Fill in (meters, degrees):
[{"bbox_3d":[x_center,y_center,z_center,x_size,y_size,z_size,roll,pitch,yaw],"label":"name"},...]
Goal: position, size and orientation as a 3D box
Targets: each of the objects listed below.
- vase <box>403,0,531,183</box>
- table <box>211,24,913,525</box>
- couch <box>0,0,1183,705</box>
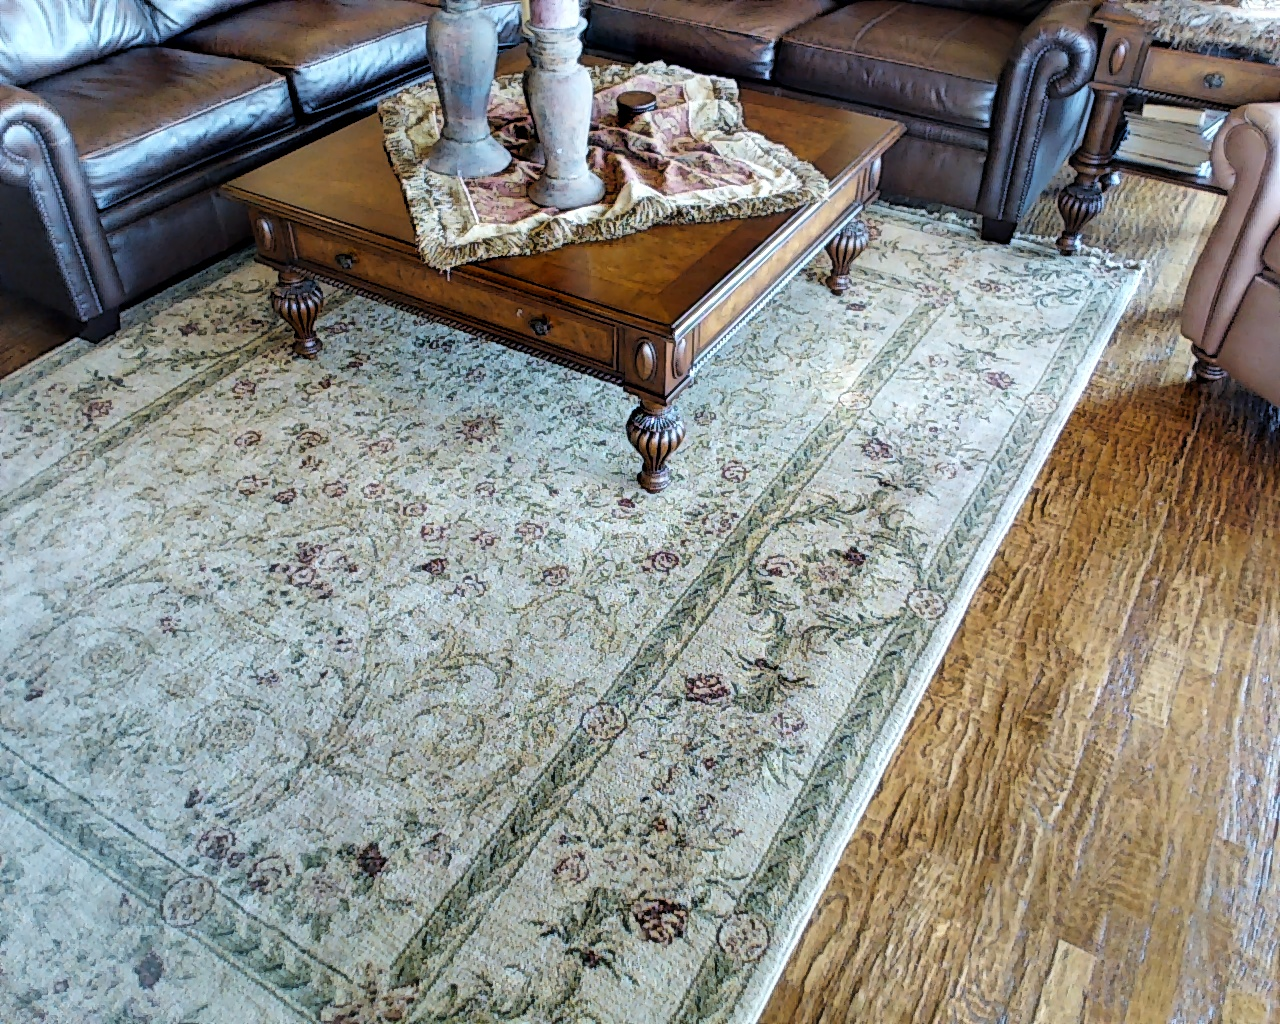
[{"bbox_3d":[-0.390,-1.060,2.410,0.200,0.560,0.160,22,46,22],"label":"vase"},{"bbox_3d":[-0.140,-0.730,2.800,1.240,0.510,1.240,22,46,22],"label":"table"},{"bbox_3d":[-0.260,-1.350,3.220,3.040,0.940,2.930,22,46,22],"label":"couch"}]
